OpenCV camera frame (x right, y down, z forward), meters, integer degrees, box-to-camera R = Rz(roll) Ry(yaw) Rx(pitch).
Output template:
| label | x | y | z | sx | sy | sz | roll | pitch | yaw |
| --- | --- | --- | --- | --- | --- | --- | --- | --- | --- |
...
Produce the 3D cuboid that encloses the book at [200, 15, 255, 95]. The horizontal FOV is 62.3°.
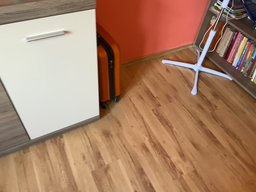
| label | x | y | z | sx | sy | sz | roll | pitch | yaw |
| --- | --- | --- | --- | --- | --- | --- | --- | --- | --- |
| book | 1.050 | -0.390 | 1.920 | 0.250 | 0.310 | 0.760 | -18 | 53 | -22 |
